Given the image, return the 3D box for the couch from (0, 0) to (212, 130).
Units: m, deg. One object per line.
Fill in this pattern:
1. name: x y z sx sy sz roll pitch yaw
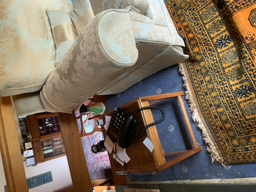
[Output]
1. couch: -0.480 -0.900 1.500 1.170 0.910 1.940 -27 76 47
